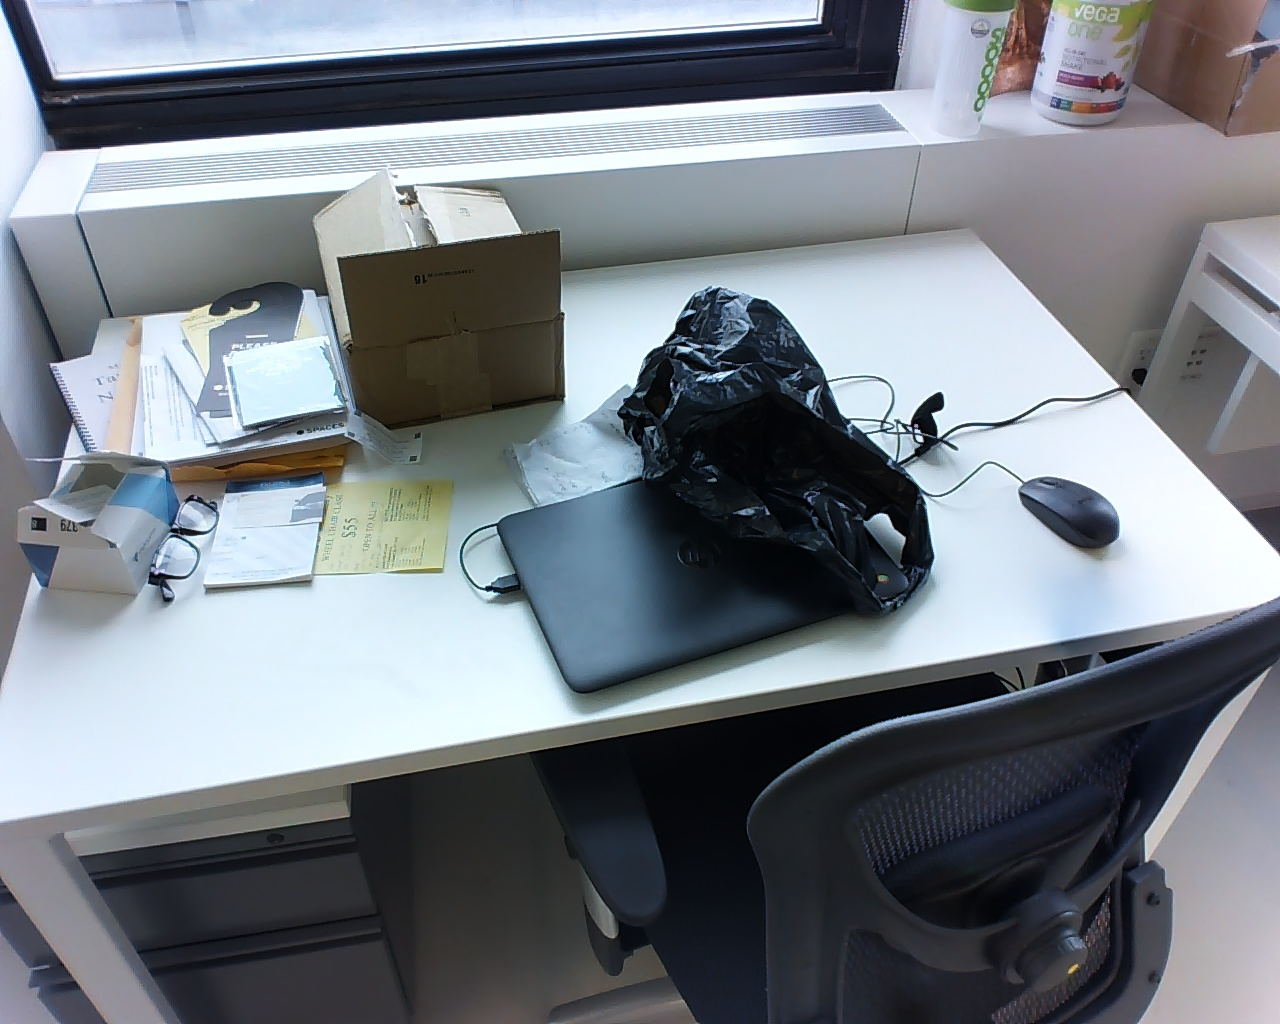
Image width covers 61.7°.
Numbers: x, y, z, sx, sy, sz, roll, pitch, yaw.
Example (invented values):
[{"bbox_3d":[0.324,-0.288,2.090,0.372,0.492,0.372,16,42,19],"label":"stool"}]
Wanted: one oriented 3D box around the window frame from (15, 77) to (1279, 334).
[{"bbox_3d":[1.020,-0.570,1.660,3.640,0.170,0.110,-8,42,-9],"label":"window frame"}]
